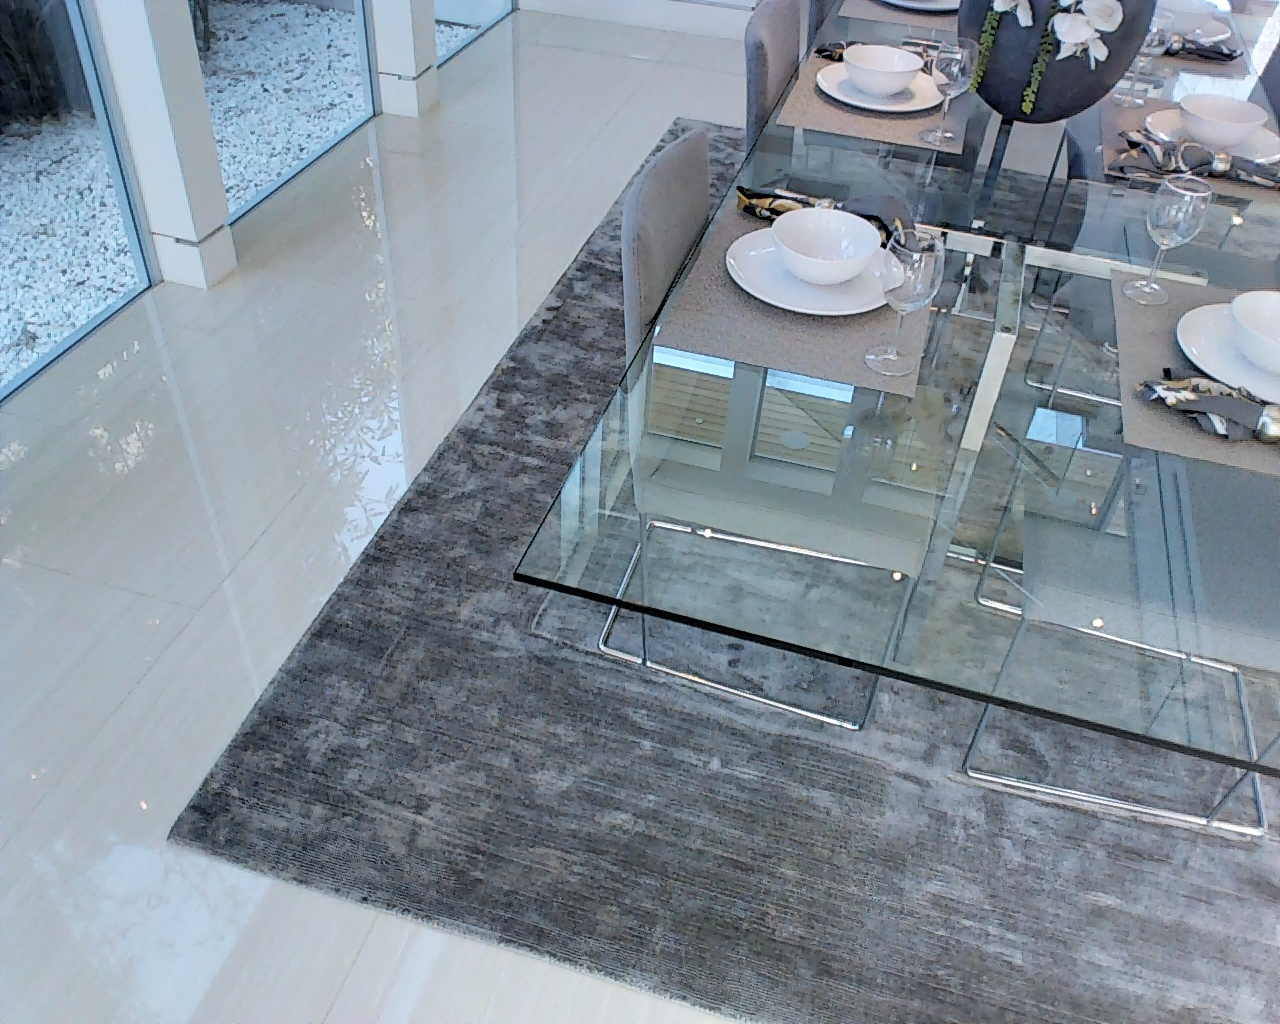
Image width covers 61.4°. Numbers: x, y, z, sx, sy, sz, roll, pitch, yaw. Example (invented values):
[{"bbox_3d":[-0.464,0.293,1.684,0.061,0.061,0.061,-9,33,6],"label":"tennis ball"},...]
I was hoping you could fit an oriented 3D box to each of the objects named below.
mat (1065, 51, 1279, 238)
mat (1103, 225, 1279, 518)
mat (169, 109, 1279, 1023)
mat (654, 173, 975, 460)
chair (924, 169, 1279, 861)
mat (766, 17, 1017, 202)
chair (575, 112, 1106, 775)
[{"bbox_3d":[1.110,-0.750,2.170,0.450,0.130,0.500,13,42,10],"label":"mat"},{"bbox_3d":[0.890,-0.200,1.520,0.400,0.130,0.510,13,42,10],"label":"mat"},{"bbox_3d":[0.830,-0.220,2.700,2.300,0.080,3.280,13,42,10],"label":"mat"},{"bbox_3d":[0.280,-0.320,1.640,0.390,0.140,0.490,13,42,10],"label":"mat"},{"bbox_3d":[0.890,0.030,1.720,0.620,0.900,0.480,13,42,10],"label":"chair"},{"bbox_3d":[0.540,-0.860,2.260,0.440,0.140,0.510,13,42,10],"label":"mat"},{"bbox_3d":[0.290,-0.100,1.820,0.660,0.880,0.490,13,42,10],"label":"chair"}]
